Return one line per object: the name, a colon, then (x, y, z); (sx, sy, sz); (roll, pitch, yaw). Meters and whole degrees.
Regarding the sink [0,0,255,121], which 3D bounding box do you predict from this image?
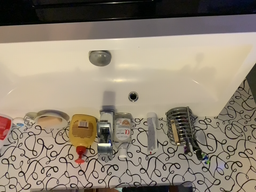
sink: (-0.080, -0.070, 0.630); (0.830, 0.100, 0.410); (-2, 149, 2)
